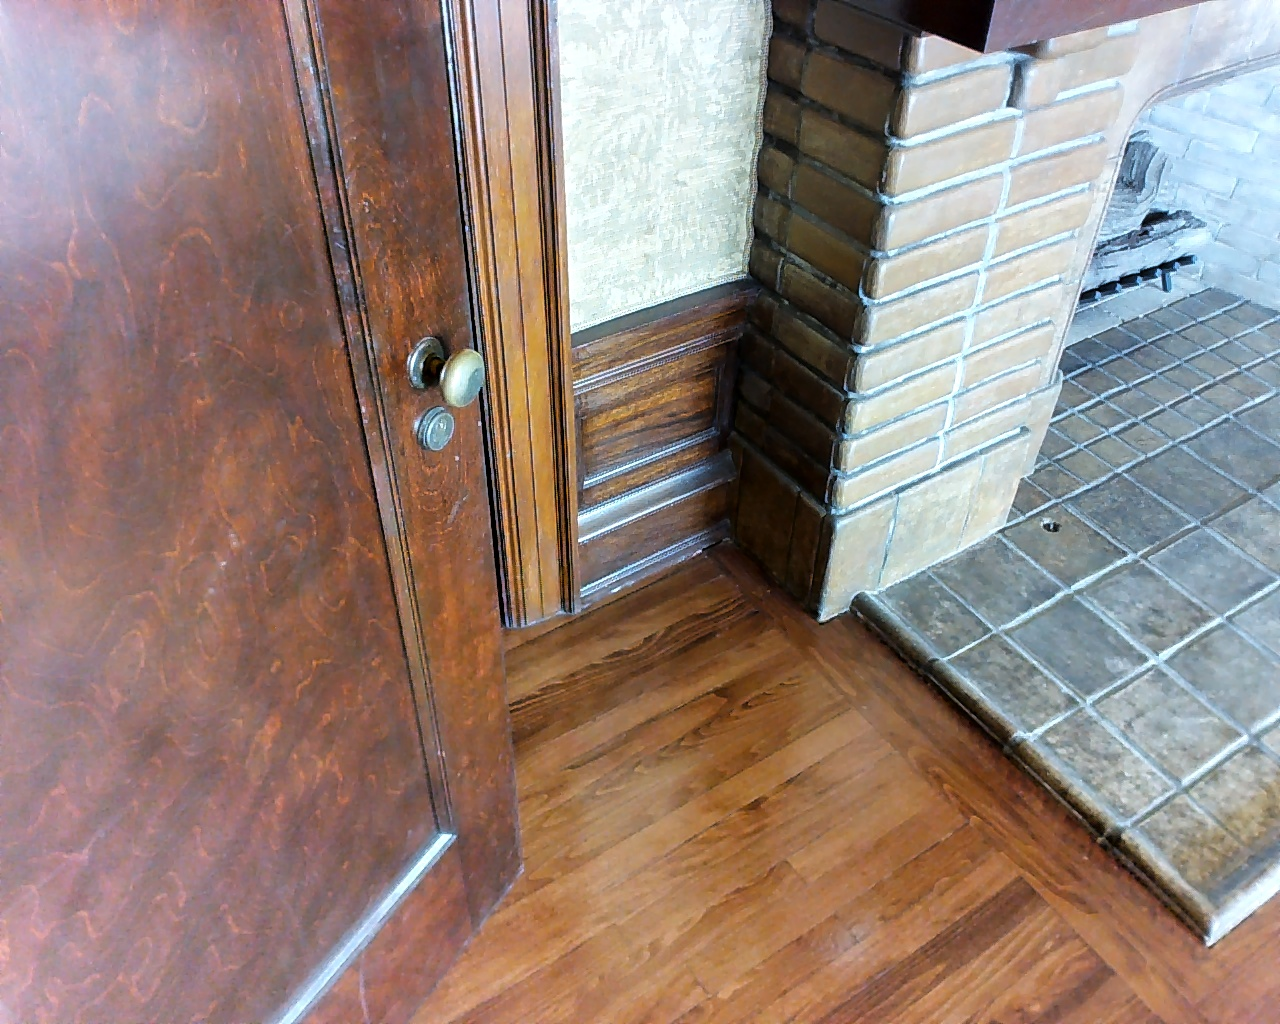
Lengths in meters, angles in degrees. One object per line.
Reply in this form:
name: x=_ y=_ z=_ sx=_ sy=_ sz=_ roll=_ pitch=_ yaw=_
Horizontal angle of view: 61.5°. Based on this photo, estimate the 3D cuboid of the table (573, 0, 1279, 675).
table: x=1.320 y=-0.930 z=2.470 sx=2.870 sy=1.290 sz=0.890 roll=-23 pitch=47 yaw=-25
